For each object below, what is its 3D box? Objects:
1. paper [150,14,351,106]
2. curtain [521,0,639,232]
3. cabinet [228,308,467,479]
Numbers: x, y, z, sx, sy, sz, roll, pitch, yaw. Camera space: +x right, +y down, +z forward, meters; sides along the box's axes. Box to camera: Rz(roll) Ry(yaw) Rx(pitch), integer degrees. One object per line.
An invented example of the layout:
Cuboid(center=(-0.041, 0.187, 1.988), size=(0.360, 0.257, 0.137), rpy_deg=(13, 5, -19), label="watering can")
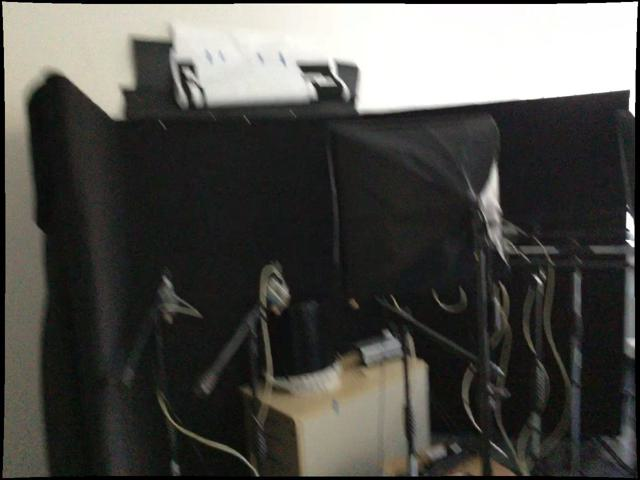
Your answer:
Cuboid(center=(-0.270, -0.801, 2.590), size=(0.919, 0.340, 0.130), rpy_deg=(-13, 13, -35), label="paper")
Cuboid(center=(1.958, -0.731, 3.070), size=(0.190, 1.401, 1.799), rpy_deg=(-14, 14, -40), label="curtain")
Cuboid(center=(0.170, 0.801, 2.800), size=(1.019, 0.601, 0.550), rpy_deg=(-14, 14, -40), label="cabinet")
